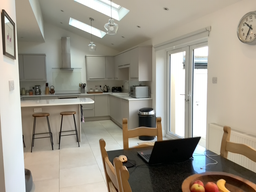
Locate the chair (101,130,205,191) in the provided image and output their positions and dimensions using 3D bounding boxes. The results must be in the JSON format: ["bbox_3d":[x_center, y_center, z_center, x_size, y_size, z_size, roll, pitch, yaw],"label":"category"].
[{"bbox_3d":[0.120,0.790,1.400,0.510,0.990,0.480,-2,6,-17],"label":"chair"}]

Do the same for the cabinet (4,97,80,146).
[{"bbox_3d":[-1.830,0.510,4.720,1.440,0.870,0.670,-2,5,-16],"label":"cabinet"}]

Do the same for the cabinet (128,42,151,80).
[{"bbox_3d":[0.270,-0.830,5.180,0.360,0.850,0.640,-2,5,-18],"label":"cabinet"}]

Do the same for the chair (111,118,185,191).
[{"bbox_3d":[0.160,0.740,2.030,0.530,0.950,0.510,-2,5,-18],"label":"chair"}]

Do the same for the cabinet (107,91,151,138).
[{"bbox_3d":[-0.070,0.400,5.990,0.600,0.940,2.140,-2,5,-18],"label":"cabinet"}]

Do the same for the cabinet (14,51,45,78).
[{"bbox_3d":[-2.990,-0.950,6.500,0.800,0.800,0.350,-2,5,-18],"label":"cabinet"}]

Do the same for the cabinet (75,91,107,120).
[{"bbox_3d":[-1.230,0.290,7.050,0.970,0.870,0.600,-2,5,-18],"label":"cabinet"}]

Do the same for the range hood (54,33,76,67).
[{"bbox_3d":[-2.000,-1.450,6.790,0.640,1.010,0.300,-2,5,-16],"label":"range hood"}]
